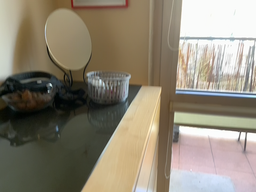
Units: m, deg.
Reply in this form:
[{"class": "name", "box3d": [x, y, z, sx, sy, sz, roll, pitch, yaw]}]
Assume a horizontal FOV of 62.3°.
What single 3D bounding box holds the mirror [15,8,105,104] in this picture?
[{"class": "mirror", "box3d": [-0.300, -0.220, 1.070, 0.250, 0.400, 0.350, 5, 21, 13]}]
